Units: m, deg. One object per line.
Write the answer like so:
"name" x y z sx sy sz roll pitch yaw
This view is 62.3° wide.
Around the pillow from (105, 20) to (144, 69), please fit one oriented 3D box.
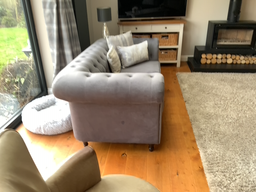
"pillow" -0.030 -0.670 2.830 0.380 0.430 0.290 -36 67 -10
